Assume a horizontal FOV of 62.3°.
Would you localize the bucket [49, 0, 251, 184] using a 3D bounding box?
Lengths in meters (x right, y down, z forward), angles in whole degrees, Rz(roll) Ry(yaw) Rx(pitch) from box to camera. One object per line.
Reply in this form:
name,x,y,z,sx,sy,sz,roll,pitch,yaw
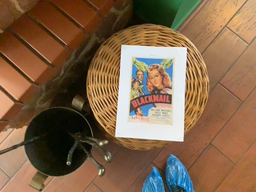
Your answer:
bucket,0.070,-0.030,0.870,0.450,0.430,0.440,38,85,4
